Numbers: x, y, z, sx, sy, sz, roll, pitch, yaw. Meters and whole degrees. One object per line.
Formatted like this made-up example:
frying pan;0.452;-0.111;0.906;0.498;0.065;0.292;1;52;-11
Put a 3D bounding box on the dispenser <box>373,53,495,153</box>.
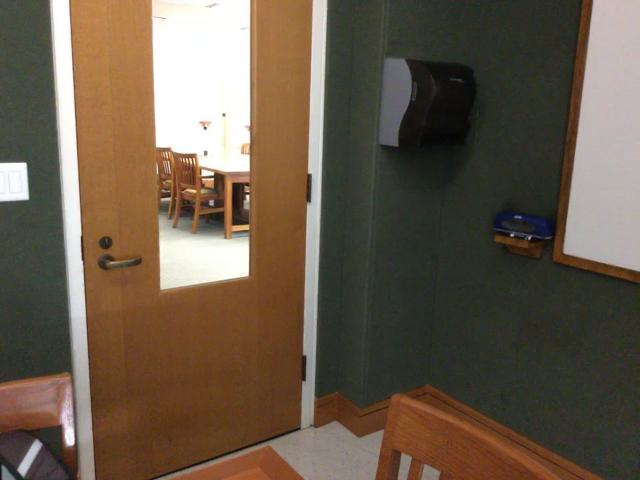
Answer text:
dispenser;0.450;-0.530;2.290;0.400;0.350;0.240;-6;15;-35
